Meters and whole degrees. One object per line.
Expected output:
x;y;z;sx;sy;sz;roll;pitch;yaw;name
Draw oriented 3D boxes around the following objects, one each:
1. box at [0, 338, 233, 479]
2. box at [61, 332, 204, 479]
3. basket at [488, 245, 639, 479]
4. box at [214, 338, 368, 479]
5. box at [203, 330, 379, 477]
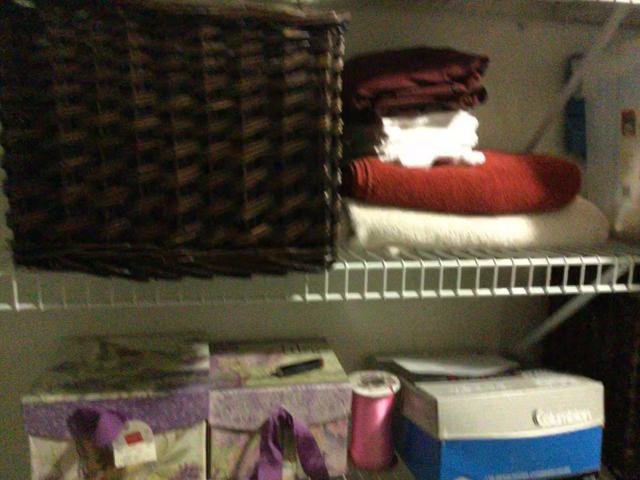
-0.280;0.270;0.850;0.290;0.170;0.260;0;8;-11;box
-0.260;0.240;0.860;0.170;0.130;0.260;0;8;-11;box
0.580;0.200;0.960;0.430;0.330;0.390;0;8;-11;basket
-0.060;0.260;0.920;0.210;0.130;0.250;0;8;-11;box
-0.060;0.240;0.910;0.240;0.120;0.250;0;8;-11;box
